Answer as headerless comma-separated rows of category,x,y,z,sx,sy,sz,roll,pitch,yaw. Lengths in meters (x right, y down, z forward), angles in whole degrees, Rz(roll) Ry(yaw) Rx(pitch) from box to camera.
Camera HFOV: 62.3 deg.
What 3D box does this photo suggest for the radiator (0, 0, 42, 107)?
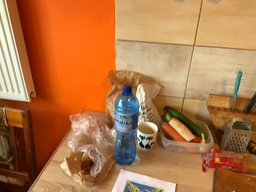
radiator,-0.690,-0.270,0.980,0.450,0.630,0.110,7,31,7
